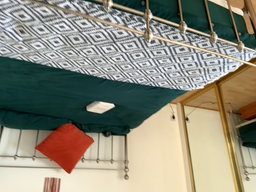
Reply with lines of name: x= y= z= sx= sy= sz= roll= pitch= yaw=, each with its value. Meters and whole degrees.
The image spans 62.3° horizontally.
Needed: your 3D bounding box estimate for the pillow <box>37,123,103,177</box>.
pillow: x=-0.670 y=0.610 z=2.450 sx=0.640 sy=0.460 sz=0.230 roll=-4 pitch=159 yaw=-29
